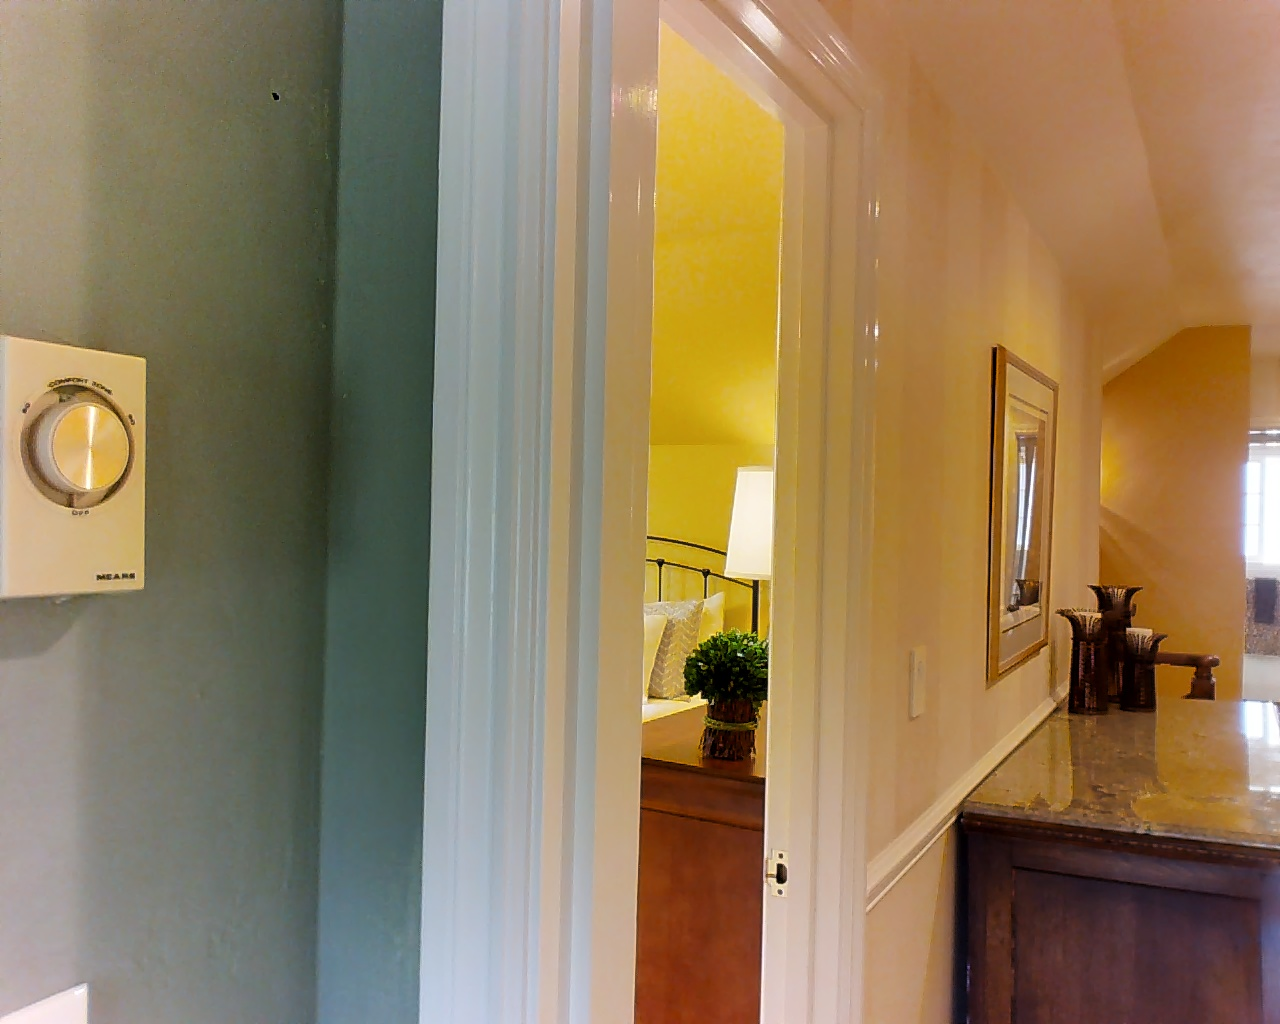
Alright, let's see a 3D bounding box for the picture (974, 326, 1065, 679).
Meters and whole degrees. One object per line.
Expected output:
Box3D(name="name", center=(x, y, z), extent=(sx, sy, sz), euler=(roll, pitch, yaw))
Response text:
Box3D(name="picture", center=(1.010, -0.020, 2.820), extent=(0.070, 0.800, 0.840), euler=(1, 0, 29))
